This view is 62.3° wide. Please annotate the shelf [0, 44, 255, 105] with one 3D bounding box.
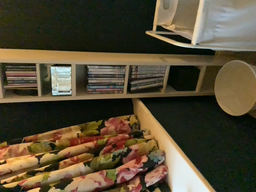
[{"bbox_3d":[-0.140,-0.120,1.140,0.190,1.970,0.230,-124,36,-59],"label":"shelf"}]
